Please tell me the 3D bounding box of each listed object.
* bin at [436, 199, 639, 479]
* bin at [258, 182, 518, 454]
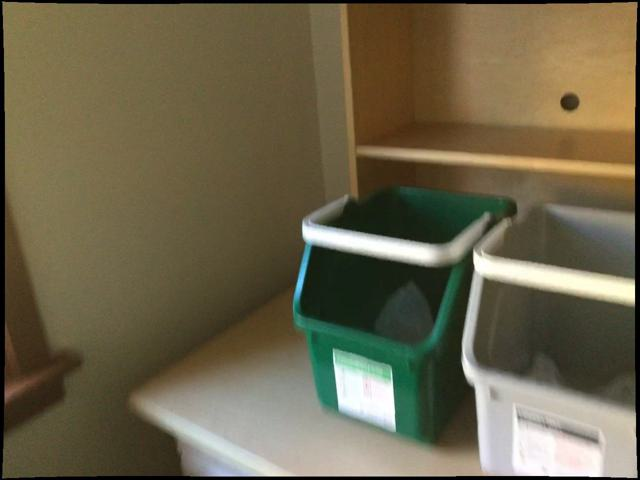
[{"bbox_3d":[0.399,0.170,0.860,0.319,0.341,0.360,10,26,34],"label":"bin"},{"bbox_3d":[0.140,0.100,1.030,0.299,0.291,0.370,10,26,34],"label":"bin"}]
